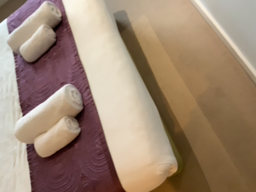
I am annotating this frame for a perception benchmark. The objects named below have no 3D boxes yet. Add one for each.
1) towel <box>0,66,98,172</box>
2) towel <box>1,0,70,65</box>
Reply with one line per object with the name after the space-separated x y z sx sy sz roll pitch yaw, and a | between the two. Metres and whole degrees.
-0.390 0.110 1.000 0.430 0.100 0.310 -32 62 12 | towel
-0.540 -0.380 1.220 0.390 0.100 0.230 -27 64 15 | towel
